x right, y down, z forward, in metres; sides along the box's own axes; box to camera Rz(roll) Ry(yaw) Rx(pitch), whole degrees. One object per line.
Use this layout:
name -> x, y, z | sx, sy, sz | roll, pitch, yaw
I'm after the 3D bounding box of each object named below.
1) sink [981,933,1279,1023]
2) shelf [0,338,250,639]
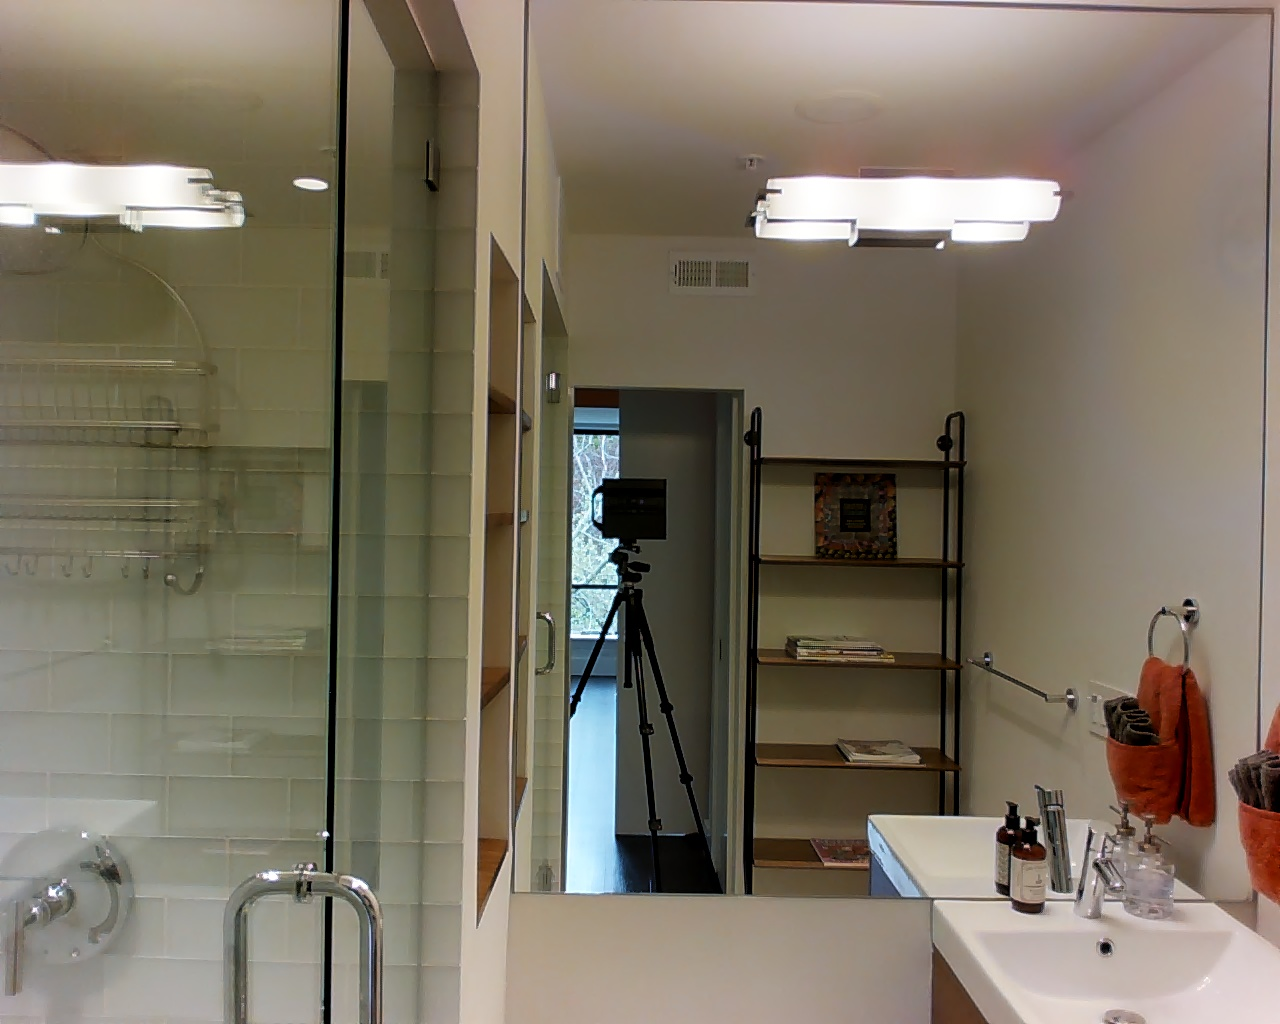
sink -> 0.780, 0.760, 1.600 | 0.440, 0.130, 0.320 | 1, 0, 1
shelf -> -0.740, -0.030, 1.330 | 0.460, 0.350, 0.130 | 1, 0, 1
